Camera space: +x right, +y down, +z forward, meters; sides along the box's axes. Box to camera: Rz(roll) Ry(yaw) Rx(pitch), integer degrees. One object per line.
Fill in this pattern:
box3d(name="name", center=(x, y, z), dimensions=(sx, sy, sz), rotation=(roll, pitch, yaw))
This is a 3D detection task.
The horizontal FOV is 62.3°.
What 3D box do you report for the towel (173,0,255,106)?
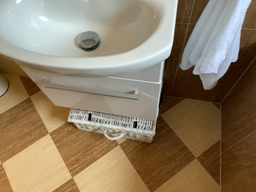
box3d(name="towel", center=(0.310, -0.190, 0.730), dimensions=(0.200, 0.670, 0.170), rotation=(7, 64, 7))
